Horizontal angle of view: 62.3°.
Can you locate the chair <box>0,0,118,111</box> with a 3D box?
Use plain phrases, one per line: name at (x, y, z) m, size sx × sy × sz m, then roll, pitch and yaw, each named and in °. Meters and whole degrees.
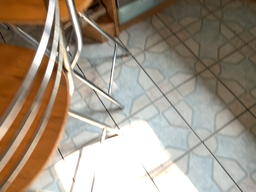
chair at (-0.260, -0.310, 0.810) m, size 0.300 × 0.910 × 0.400 m, roll 9°, pitch 67°, yaw 6°
